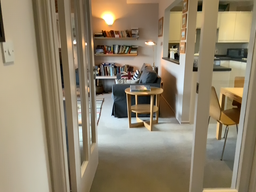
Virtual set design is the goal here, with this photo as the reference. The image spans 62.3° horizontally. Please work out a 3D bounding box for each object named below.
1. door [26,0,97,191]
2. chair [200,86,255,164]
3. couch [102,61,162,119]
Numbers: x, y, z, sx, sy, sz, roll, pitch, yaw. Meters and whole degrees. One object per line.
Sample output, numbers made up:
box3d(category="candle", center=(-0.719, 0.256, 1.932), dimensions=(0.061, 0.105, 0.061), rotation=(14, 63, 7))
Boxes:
box3d(category="door", center=(-0.430, -0.150, 1.610), dimensions=(0.180, 2.070, 0.810), rotation=(0, 14, 2))
box3d(category="chair", center=(1.100, 0.310, 2.390), dimensions=(0.440, 0.770, 0.360), rotation=(2, 15, 10))
box3d(category="couch", center=(0.040, -0.230, 4.380), dimensions=(0.980, 0.820, 1.710), rotation=(-1, 14, -2))
